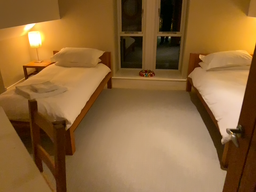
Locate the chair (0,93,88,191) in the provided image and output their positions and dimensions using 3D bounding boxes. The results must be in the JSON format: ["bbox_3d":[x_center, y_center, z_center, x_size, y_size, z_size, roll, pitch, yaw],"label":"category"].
[{"bbox_3d":[-0.500,0.530,1.170,0.410,0.940,0.410,-18,29,-36],"label":"chair"}]

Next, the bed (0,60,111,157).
[{"bbox_3d":[-0.980,-0.030,3.080,1.110,0.530,2.090,2,22,5],"label":"bed"}]

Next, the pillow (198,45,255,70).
[{"bbox_3d":[1.570,-0.620,3.380,0.760,0.290,0.450,2,23,5],"label":"pillow"}]

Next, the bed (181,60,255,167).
[{"bbox_3d":[1.520,0.030,2.860,1.170,0.560,2.090,1,22,3],"label":"bed"}]
